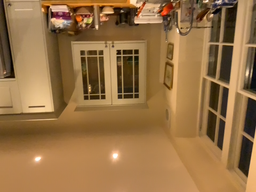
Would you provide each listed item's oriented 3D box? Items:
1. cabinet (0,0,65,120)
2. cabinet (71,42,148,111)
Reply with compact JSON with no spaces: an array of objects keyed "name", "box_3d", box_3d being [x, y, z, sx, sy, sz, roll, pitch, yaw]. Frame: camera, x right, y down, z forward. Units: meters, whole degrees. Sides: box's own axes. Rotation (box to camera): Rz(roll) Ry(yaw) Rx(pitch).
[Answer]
[{"name":"cabinet","box_3d":[-1.270,-0.900,2.850,0.480,2.370,0.610,-2,-164,-3]},{"name":"cabinet","box_3d":[-0.250,-0.310,3.210,1.050,0.970,0.330,-2,-164,-3]}]
